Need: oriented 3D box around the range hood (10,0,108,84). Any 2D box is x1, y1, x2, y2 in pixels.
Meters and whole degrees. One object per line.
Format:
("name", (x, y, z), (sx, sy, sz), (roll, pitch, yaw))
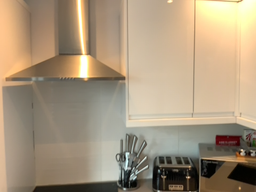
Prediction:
("range hood", (-0.370, -0.460, 1.280), (0.470, 0.760, 0.430), (-1, 5, -6))
